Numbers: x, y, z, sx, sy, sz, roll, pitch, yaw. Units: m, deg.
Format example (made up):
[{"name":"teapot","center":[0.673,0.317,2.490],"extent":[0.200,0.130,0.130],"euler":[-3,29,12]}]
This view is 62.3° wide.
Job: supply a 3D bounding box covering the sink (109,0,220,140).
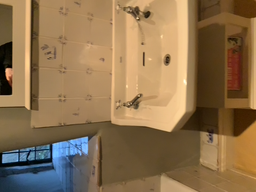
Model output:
[{"name":"sink","center":[0.140,-0.200,1.000],"extent":[0.460,0.270,0.700],"euler":[2,92,60]}]
